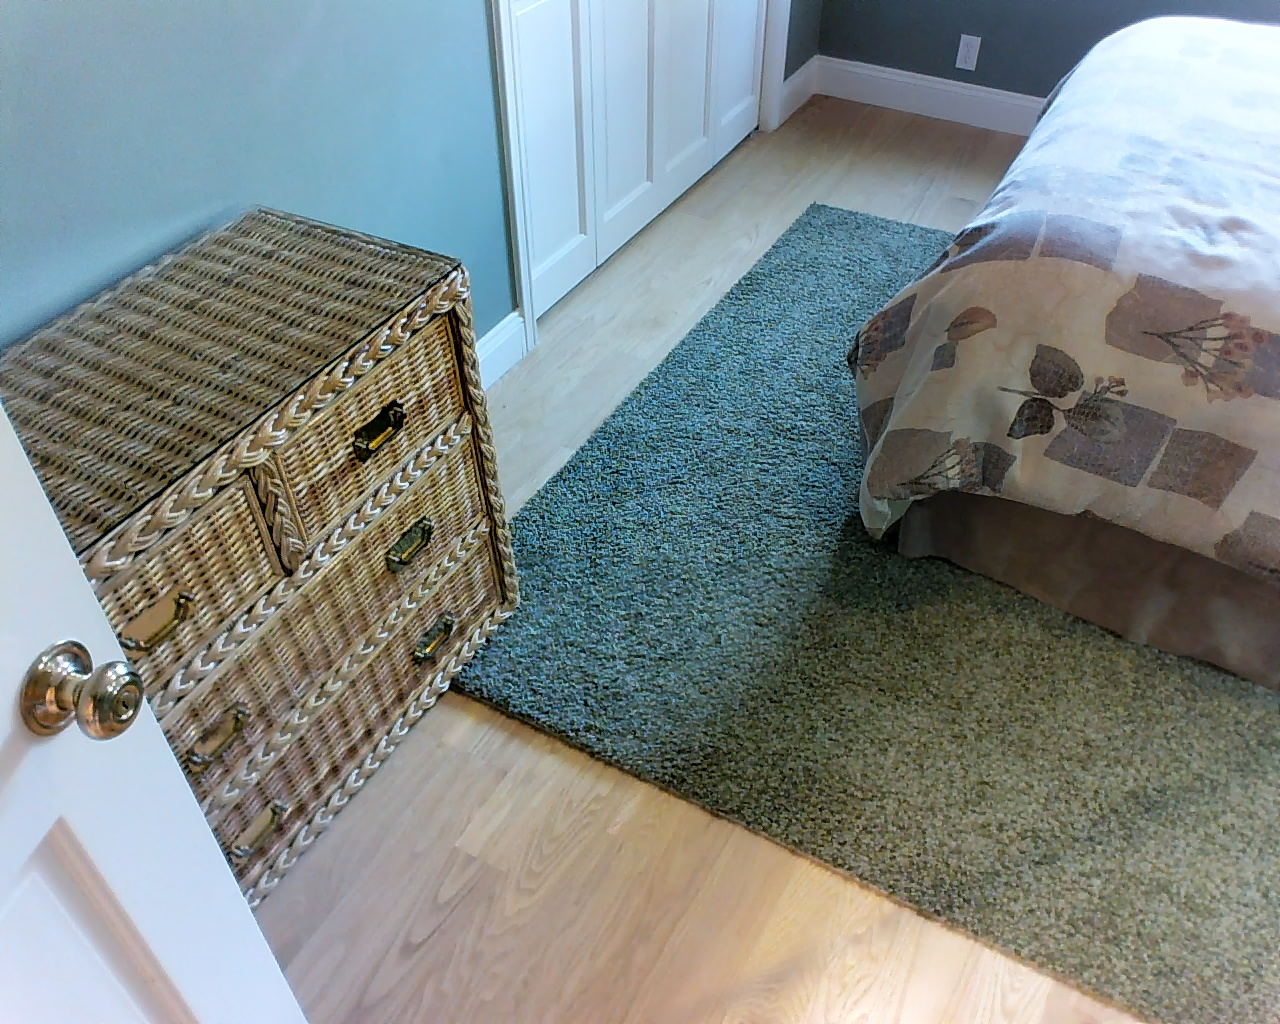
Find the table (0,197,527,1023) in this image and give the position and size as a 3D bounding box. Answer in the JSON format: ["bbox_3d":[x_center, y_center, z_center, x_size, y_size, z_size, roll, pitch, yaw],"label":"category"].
[{"bbox_3d":[-0.700,0.130,1.710,0.500,0.790,1.020,21,46,21],"label":"table"}]
